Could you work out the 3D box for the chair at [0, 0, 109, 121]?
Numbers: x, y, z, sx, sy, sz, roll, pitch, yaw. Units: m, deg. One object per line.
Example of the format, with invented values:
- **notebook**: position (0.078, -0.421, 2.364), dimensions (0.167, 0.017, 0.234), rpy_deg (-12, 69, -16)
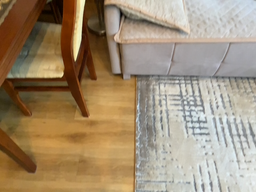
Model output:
- **chair**: position (-0.430, -0.310, 1.140), dimensions (0.540, 0.960, 0.460), rpy_deg (3, 56, 2)
